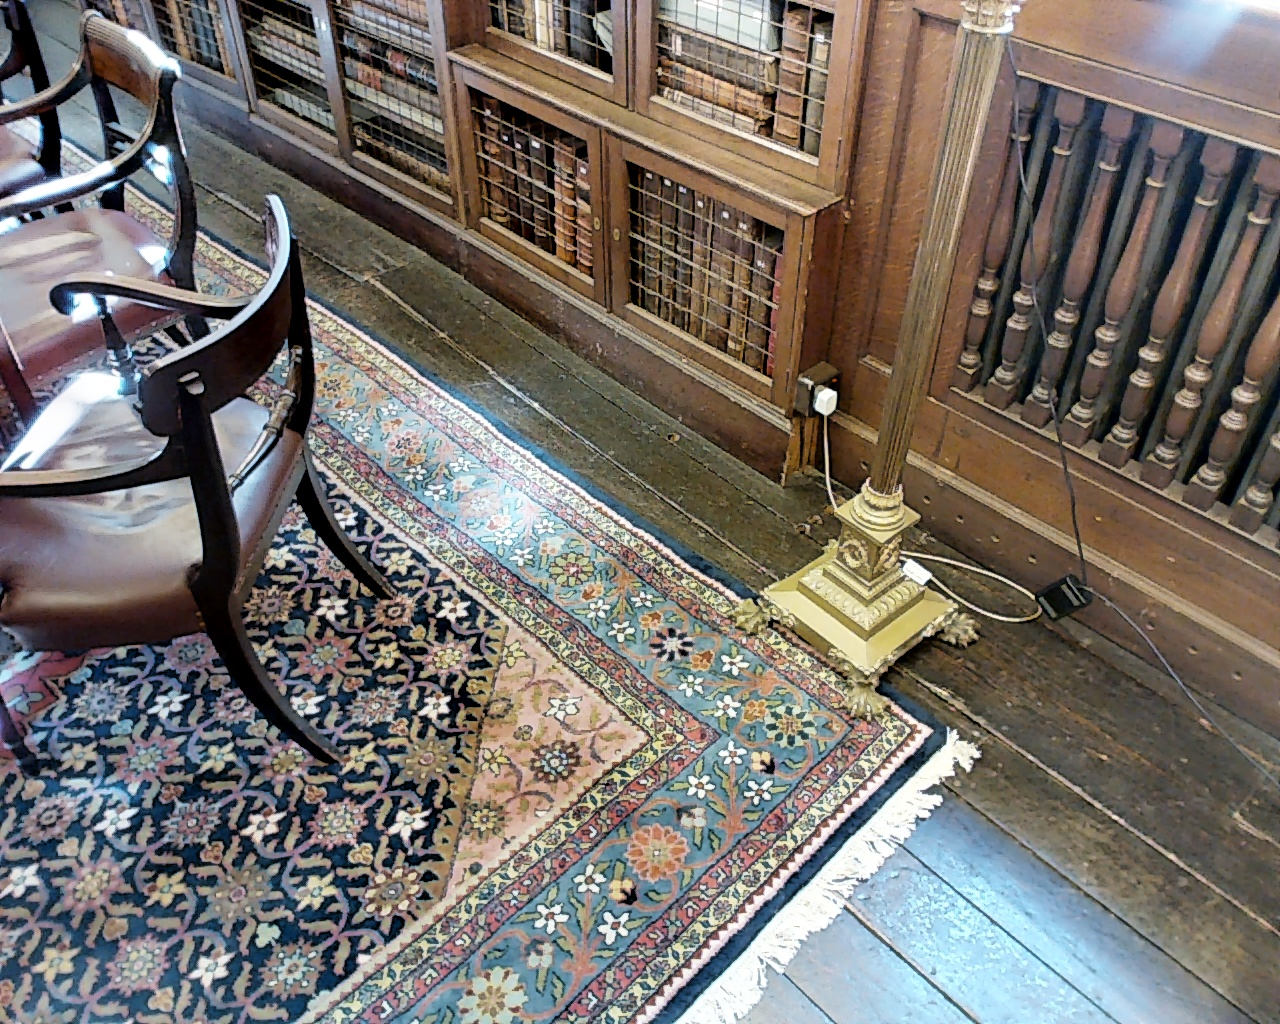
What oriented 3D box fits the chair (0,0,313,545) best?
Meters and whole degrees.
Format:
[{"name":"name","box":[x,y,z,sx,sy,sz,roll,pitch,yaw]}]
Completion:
[{"name":"chair","box":[-1.250,-0.550,2.300,0.680,0.840,0.620,-33,51,-31]}]

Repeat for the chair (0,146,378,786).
[{"name":"chair","box":[-0.860,-0.060,1.760,0.610,0.840,0.620,0,42,0]}]
